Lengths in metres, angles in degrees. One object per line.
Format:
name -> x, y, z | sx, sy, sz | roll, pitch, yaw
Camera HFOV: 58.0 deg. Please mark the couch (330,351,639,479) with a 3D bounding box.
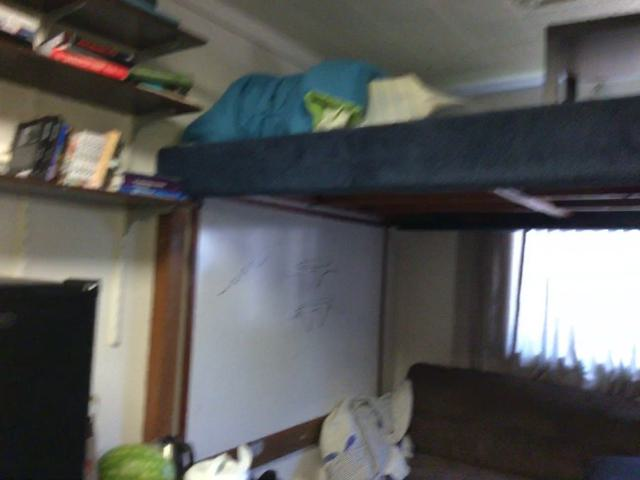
couch -> 1.150, 1.210, 3.060 | 1.880, 0.950, 1.120 | 0, -5, 33
